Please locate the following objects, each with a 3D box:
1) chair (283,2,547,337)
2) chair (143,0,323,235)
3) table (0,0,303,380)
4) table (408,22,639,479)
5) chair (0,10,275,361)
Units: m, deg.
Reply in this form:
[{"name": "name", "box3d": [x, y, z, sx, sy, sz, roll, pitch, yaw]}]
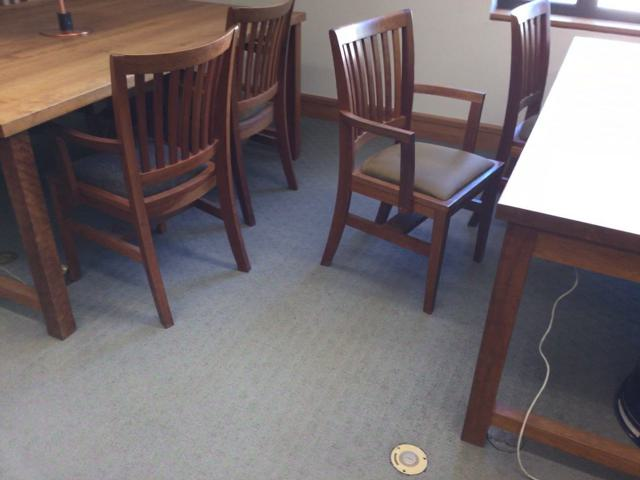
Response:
[{"name": "chair", "box3d": [0.340, -0.320, 2.150, 0.600, 0.990, 0.710, 19, 28, 28]}, {"name": "chair", "box3d": [-0.370, -0.620, 2.600, 0.460, 0.950, 0.660, 15, 26, 21]}, {"name": "table", "box3d": [-1.140, -0.510, 2.470, 1.470, 1.010, 1.680, 15, 26, 21]}, {"name": "table", "box3d": [1.300, -0.030, 1.810, 1.430, 1.050, 1.760, 15, 26, 21]}, {"name": "chair", "box3d": [-0.650, -0.260, 2.030, 0.670, 0.960, 0.710, 15, 26, 21]}]
